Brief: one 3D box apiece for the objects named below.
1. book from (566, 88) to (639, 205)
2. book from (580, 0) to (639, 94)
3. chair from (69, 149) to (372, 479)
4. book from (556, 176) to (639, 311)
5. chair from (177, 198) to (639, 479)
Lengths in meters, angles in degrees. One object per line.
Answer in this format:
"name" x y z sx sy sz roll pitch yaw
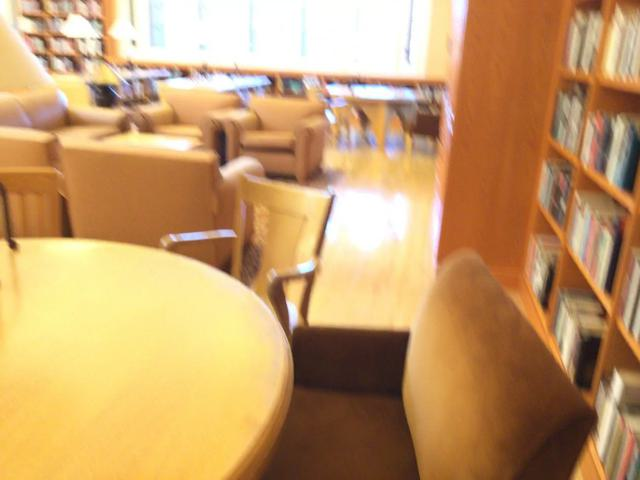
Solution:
"book" 1.160 -0.390 2.260 0.180 0.350 0.680 7 19 10
"book" 1.180 -0.730 2.210 0.170 0.300 0.590 7 19 10
"chair" -0.320 0.230 2.140 0.640 0.950 0.840 14 21 27
"book" 1.190 -0.010 2.350 0.260 0.350 0.650 7 19 10
"chair" 0.120 0.500 1.430 0.740 0.970 0.890 3 19 -2
